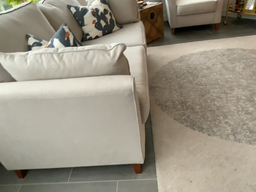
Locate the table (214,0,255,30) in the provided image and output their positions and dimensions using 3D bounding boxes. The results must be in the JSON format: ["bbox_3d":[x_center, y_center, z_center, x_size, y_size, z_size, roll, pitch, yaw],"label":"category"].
[{"bbox_3d":[1.860,-1.470,3.260,0.450,0.720,0.820,-32,40,-32],"label":"table"}]
